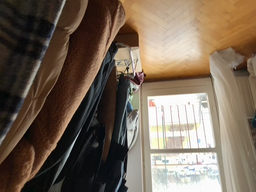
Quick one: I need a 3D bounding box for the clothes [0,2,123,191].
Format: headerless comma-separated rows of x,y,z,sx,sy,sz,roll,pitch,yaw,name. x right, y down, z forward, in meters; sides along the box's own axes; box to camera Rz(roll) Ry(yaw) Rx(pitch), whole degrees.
-0.270,0.120,0.990,0.430,0.990,0.390,-4,159,8,clothes
